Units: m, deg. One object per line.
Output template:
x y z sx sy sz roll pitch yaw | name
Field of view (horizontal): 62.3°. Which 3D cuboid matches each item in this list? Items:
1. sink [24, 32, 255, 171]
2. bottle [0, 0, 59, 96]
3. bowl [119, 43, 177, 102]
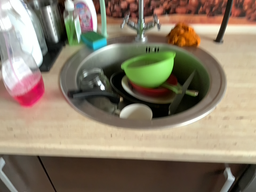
0.040 -0.030 0.700 0.520 0.150 0.490 2 41 3 | sink
-0.340 -0.210 0.570 0.160 0.280 0.310 2 41 2 | bottle
0.070 -0.090 0.770 0.180 0.120 0.190 3 41 4 | bowl
